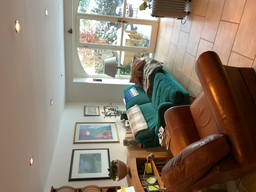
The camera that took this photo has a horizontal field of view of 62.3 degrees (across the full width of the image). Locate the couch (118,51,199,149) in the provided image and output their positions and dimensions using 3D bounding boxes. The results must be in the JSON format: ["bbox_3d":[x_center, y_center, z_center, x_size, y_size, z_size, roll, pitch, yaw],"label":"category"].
[{"bbox_3d":[0.400,-0.060,4.150,1.990,0.880,1.060,-110,24,-61],"label":"couch"}]

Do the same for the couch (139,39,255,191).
[{"bbox_3d":[0.760,0.300,2.100,1.200,0.940,1.080,106,161,-52],"label":"couch"}]

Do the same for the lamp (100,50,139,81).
[{"bbox_3d":[-0.220,-0.730,5.040,0.510,0.830,0.560,-114,27,-64],"label":"lamp"}]
